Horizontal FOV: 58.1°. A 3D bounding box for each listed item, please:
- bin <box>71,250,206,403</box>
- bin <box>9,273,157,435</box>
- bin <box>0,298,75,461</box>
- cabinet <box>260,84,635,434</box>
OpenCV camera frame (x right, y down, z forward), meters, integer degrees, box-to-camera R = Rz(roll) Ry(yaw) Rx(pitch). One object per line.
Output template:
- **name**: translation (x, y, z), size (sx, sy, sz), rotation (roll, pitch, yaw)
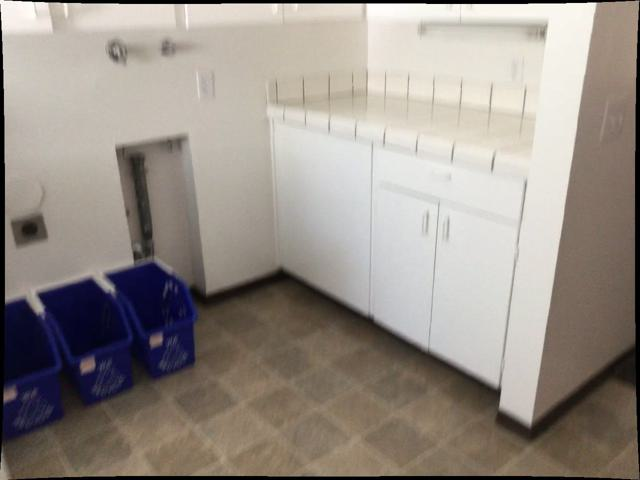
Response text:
- **bin**: translation (-0.749, 0.331, 2.370), size (0.320, 0.360, 0.500), rotation (-18, 30, -35)
- **bin**: translation (-0.899, 0.411, 2.200), size (0.370, 0.371, 0.380), rotation (-18, 30, -35)
- **bin**: translation (-1.098, 0.481, 2.050), size (0.260, 0.360, 0.390), rotation (-18, 30, -35)
- **cabinet**: translation (0.389, -0.060, 2.440), size (0.560, 0.941, 1.399), rotation (-18, 30, -35)
